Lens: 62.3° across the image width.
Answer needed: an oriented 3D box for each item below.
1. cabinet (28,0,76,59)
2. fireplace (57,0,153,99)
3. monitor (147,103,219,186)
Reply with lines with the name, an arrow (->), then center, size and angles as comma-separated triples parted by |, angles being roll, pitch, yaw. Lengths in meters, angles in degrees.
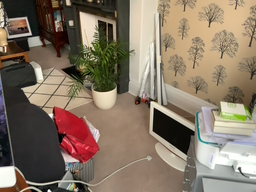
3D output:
cabinet -> -1.580, -1.820, 4.250 | 0.480, 1.880, 0.960 | -22, 37, -34
fireplace -> -0.430, -0.940, 3.340 | 0.580, 1.310, 1.620 | -22, 37, -34
monitor -> 0.430, 0.400, 1.870 | 0.050, 0.460, 0.680 | -22, 35, -34
